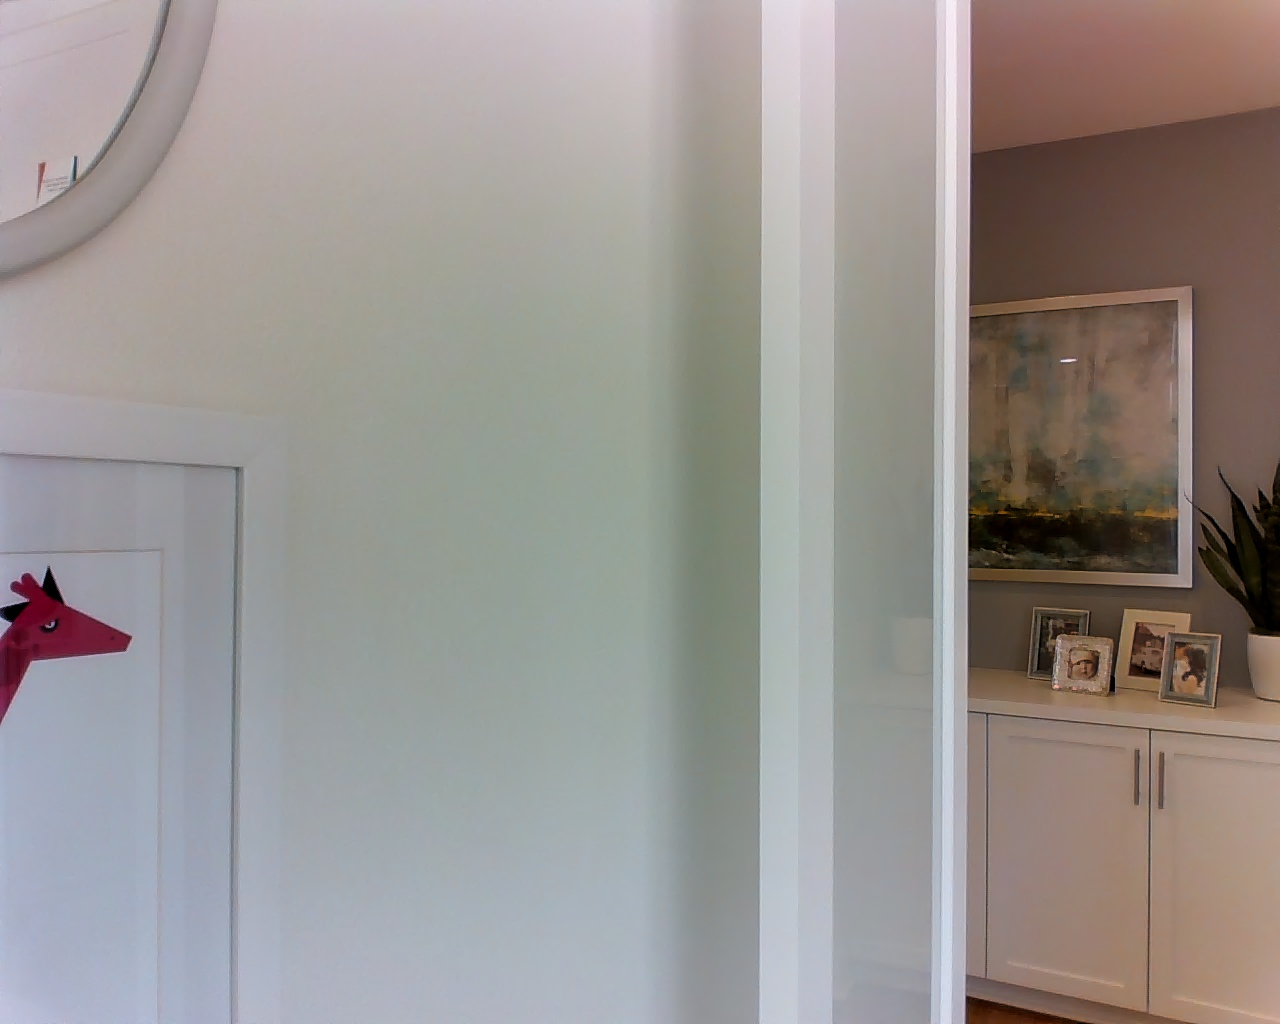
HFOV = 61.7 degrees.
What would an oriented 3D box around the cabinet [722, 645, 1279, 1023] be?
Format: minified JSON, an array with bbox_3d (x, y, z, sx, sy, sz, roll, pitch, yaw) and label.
[{"bbox_3d":[1.219,0.990,3.400,1.799,0.960,0.680,0,-1,31],"label":"cabinet"}]

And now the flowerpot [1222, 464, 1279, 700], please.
[{"bbox_3d":[1.919,0.200,3.170,0.330,0.670,0.300,0,-1,31],"label":"flowerpot"}]

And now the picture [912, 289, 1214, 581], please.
[{"bbox_3d":[1.409,-0.240,3.650,0.960,0.920,0.050,0,-1,31],"label":"picture"}]
